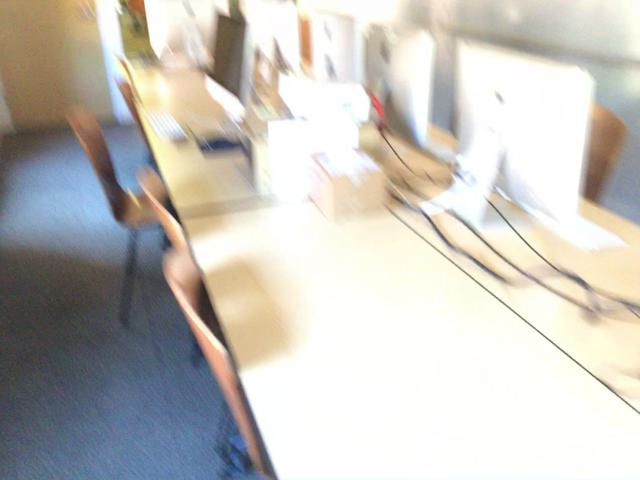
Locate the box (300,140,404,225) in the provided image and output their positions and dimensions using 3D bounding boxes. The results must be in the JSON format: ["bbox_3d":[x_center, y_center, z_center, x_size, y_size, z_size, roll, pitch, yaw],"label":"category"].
[{"bbox_3d":[0.090,-0.180,1.730,0.220,0.140,0.260,-12,29,-17],"label":"box"}]

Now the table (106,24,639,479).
[{"bbox_3d":[-0.060,-0.470,2.420,1.390,0.230,4.340,-12,29,-17],"label":"table"}]

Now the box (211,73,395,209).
[{"bbox_3d":[-0.070,-0.360,1.970,0.490,0.280,0.440,-12,29,-17],"label":"box"}]

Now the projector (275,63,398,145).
[{"bbox_3d":[0.050,-0.470,1.960,0.320,0.170,0.300,-12,29,-17],"label":"projector"}]
